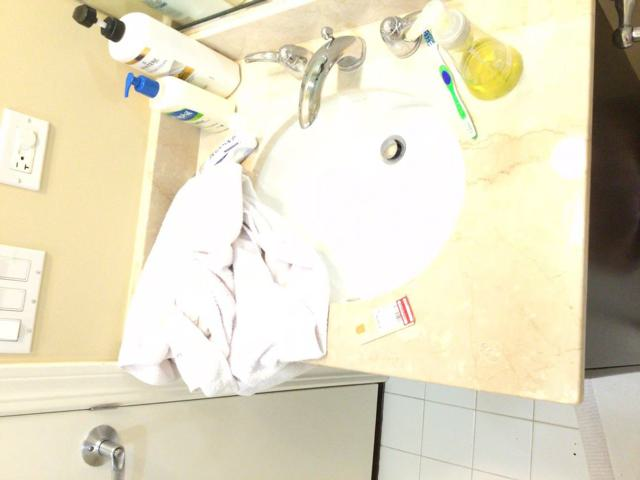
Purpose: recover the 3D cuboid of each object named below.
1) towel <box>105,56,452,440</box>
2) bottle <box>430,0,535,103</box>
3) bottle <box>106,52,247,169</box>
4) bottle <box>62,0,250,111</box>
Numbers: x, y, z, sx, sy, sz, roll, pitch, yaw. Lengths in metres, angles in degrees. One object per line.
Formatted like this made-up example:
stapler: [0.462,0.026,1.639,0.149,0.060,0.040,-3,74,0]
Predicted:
towel: [-0.050,0.040,1.080,0.370,0.530,0.460,0,-10,40]
bottle: [0.210,-0.250,0.740,0.080,0.100,0.120,0,-10,40]
bottle: [-0.250,-0.220,1.030,0.110,0.130,0.200,0,-10,40]
bottle: [-0.270,-0.330,1.000,0.110,0.100,0.290,0,-10,40]
